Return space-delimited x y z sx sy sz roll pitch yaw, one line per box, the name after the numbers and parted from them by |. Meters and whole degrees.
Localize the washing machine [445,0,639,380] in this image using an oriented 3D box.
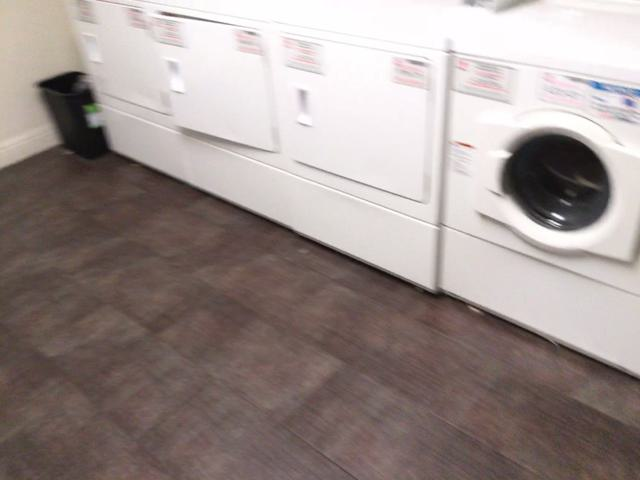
0.870 -0.300 1.730 0.670 1.040 0.750 20 39 39 | washing machine

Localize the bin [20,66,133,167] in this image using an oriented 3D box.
-1.330 -0.690 3.170 0.400 0.400 0.340 23 40 38 | bin
